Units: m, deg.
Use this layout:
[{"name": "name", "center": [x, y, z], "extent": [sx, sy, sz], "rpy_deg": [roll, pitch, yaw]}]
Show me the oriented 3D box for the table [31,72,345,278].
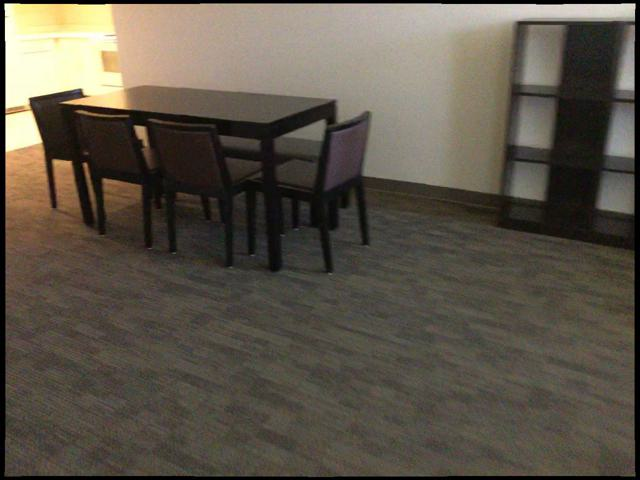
[{"name": "table", "center": [-0.798, -0.491, 3.540], "extent": [1.747, 0.851, 0.730], "rpy_deg": [12, 29, 28]}]
